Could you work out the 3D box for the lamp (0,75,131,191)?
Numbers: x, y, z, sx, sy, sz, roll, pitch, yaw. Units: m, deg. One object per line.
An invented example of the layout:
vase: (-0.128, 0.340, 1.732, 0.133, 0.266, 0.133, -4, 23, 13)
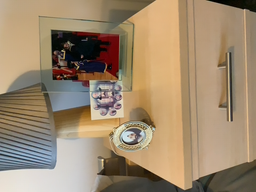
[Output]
lamp: (-0.220, 0.090, 0.630, 0.250, 0.370, 0.270, -5, 88, 61)
